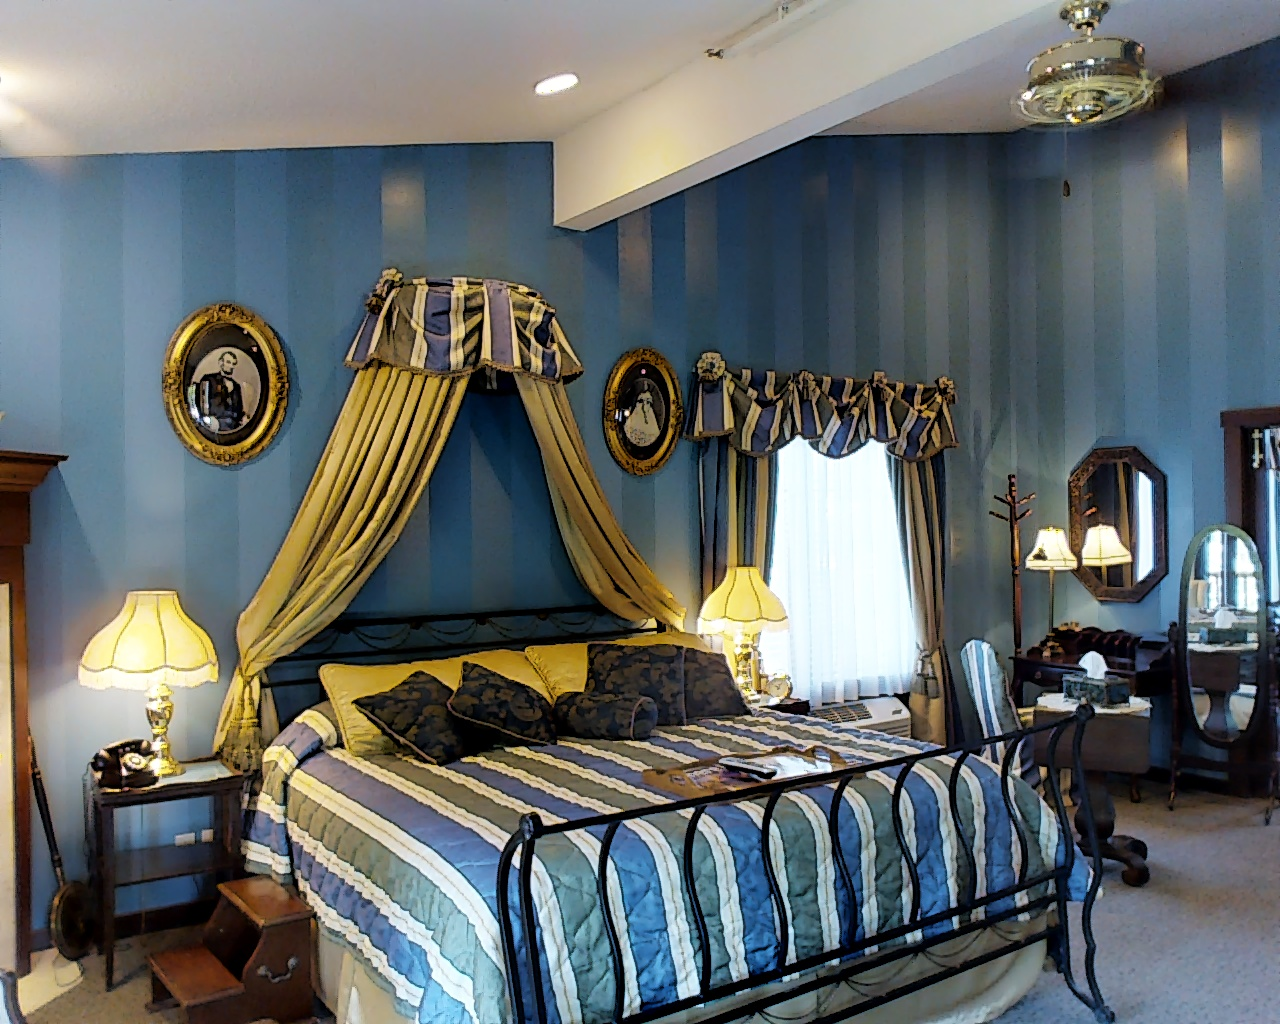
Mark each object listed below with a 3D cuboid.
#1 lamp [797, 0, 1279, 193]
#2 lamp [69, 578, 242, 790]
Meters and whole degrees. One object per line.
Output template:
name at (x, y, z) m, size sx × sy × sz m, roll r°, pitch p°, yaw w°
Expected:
lamp at (1.240, -1.220, 2.950) m, size 1.100 × 0.230 × 1.170 m, roll -1°, pitch 0°, yaw -34°
lamp at (-1.760, 0.590, 3.900) m, size 0.480 × 0.660 × 0.480 m, roll -1°, pitch 0°, yaw -35°
